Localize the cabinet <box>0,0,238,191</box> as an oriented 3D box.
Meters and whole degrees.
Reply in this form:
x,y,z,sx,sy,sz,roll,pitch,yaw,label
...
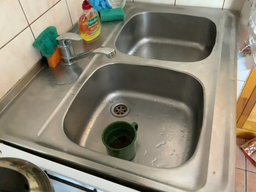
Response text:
x,y,z,sx,sy,sz,roll,pitch,yaw,label
0.070,0.140,1.030,0.580,0.850,0.810,14,50,15,cabinet

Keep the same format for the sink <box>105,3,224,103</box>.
x,y,z,sx,sy,sz,roll,pitch,yaw,label
0.160,-0.200,0.880,0.380,0.180,0.350,14,50,15,sink

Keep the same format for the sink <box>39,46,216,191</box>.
x,y,z,sx,sy,sz,roll,pitch,yaw,label
0.030,0.060,0.650,0.380,0.180,0.380,14,50,15,sink
